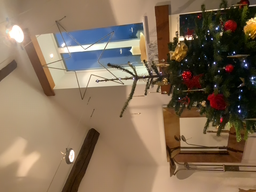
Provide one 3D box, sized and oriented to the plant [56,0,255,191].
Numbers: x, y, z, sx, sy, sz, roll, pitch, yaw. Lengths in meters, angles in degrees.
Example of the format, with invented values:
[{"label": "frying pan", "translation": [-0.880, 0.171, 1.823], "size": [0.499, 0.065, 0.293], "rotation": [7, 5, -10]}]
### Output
[{"label": "plant", "translation": [0.940, -0.180, 1.620], "size": [1.200, 2.210, 1.620], "rotation": [-74, -22, -58]}]
